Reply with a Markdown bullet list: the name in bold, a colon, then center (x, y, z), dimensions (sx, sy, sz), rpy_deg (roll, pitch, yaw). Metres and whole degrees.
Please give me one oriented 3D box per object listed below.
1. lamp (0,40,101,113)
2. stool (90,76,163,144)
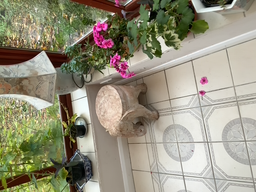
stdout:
- **lamp**: center (-0.560, -0.110, 1.430), dimensions (0.290, 0.660, 0.380), rpy_deg (-11, 85, 46)
- **stool**: center (-0.020, 0.100, 1.490), dimensions (0.350, 0.300, 0.400), rpy_deg (-15, 82, 46)
